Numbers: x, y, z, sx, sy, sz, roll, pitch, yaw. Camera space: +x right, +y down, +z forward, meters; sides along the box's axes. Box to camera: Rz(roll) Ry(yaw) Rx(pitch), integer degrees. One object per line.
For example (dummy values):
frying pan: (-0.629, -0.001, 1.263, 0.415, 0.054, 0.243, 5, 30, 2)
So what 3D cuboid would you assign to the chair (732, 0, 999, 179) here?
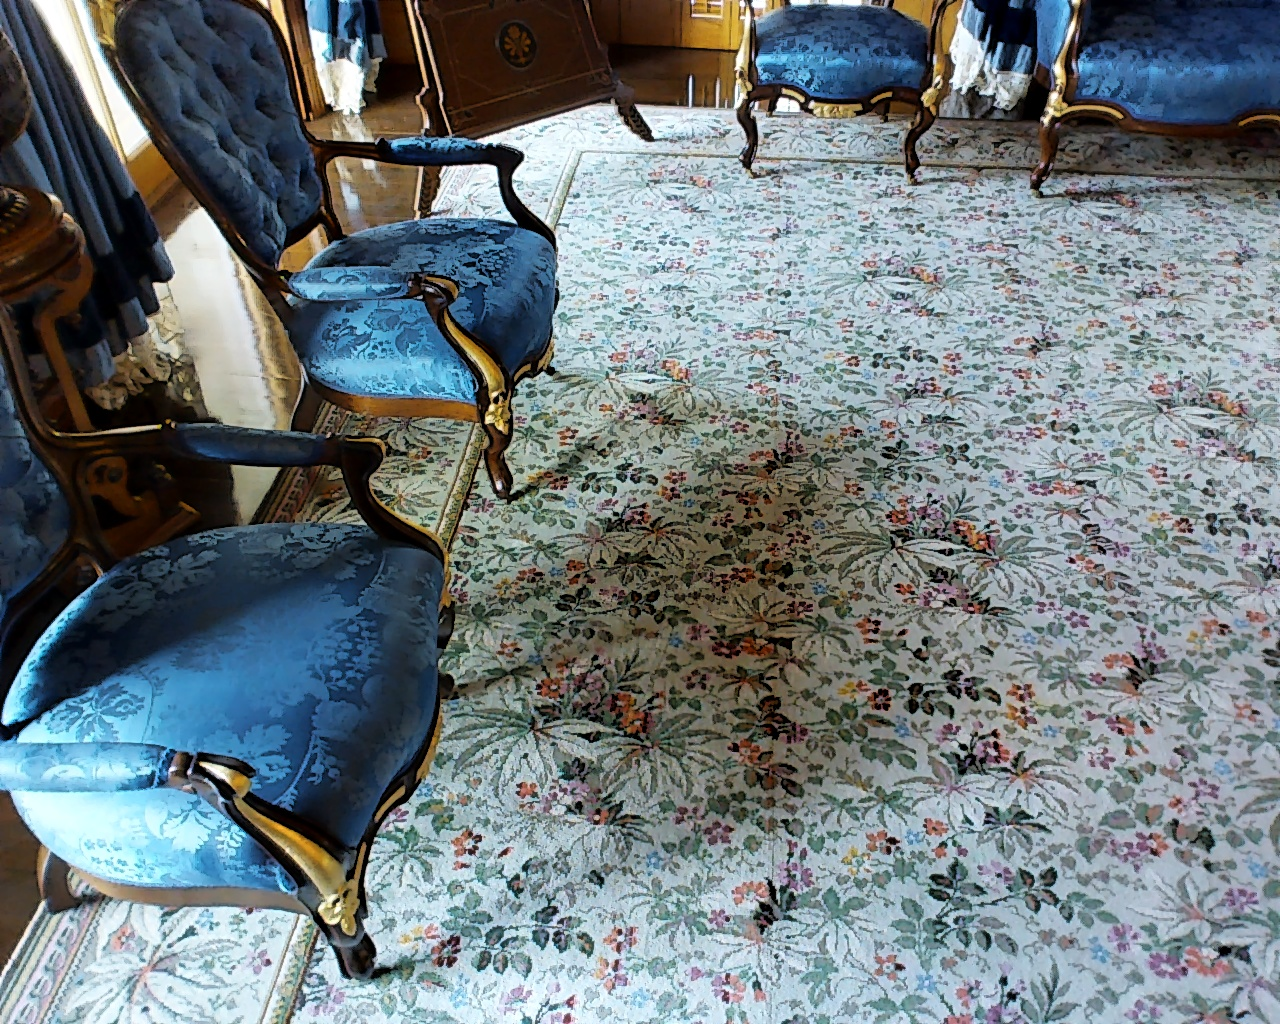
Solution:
chair: (0.730, -1.790, 3.500, 0.750, 1.030, 0.900, 5, 43, 6)

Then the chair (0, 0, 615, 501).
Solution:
chair: (-0.560, -0.660, 2.280, 0.890, 1.000, 0.700, 4, 43, 6)

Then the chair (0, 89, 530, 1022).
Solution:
chair: (-0.690, 0.080, 1.470, 0.870, 1.040, 0.680, 4, 43, 6)
